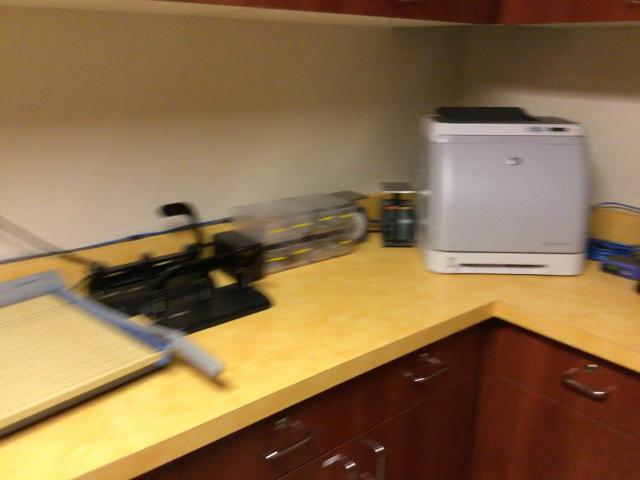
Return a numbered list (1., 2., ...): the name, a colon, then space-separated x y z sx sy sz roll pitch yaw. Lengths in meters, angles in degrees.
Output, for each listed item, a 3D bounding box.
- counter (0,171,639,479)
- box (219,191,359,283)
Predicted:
1. counter: -0.120 0.280 0.750 2.800 0.270 1.530 -13 20 -38
2. box: -0.080 -0.020 1.570 0.310 0.160 0.210 -13 20 -38
